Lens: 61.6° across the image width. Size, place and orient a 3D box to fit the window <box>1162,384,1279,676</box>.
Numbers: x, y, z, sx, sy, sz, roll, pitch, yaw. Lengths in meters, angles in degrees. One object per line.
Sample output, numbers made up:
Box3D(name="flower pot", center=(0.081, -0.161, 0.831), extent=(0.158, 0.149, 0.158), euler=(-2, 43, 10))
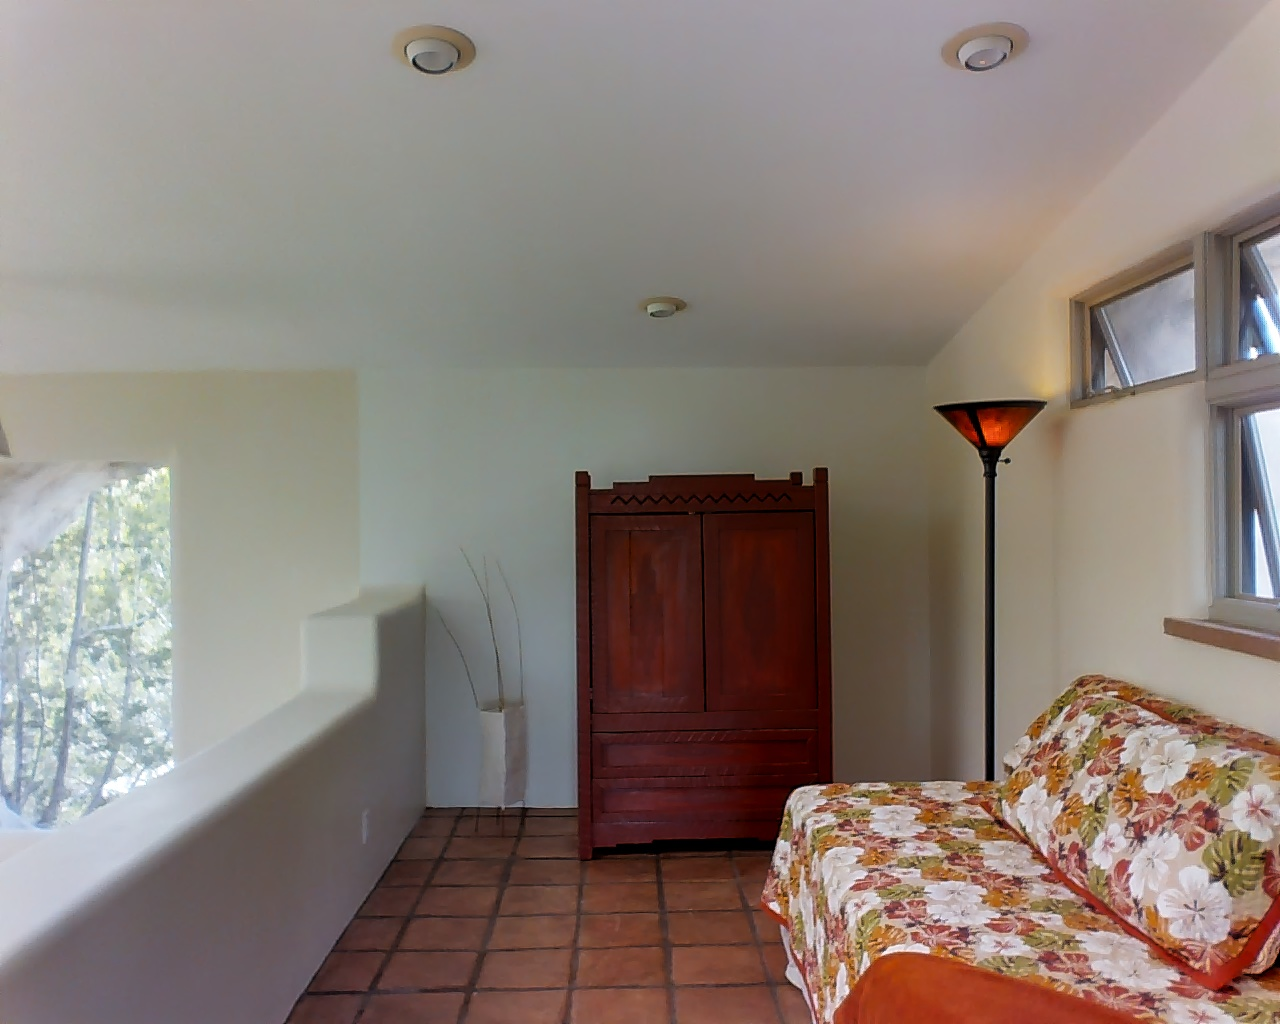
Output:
Box3D(name="window", center=(1.530, 0.040, 2.430), extent=(0.170, 0.660, 1.030), euler=(-1, 0, -1))

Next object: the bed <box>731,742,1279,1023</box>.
Box3D(name="bed", center=(0.890, 1.100, 2.440), extent=(1.140, 0.690, 2.140), euler=(-1, 0, -1))

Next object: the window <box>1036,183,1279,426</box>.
Box3D(name="window", center=(1.520, -0.530, 2.490), extent=(0.140, 0.430, 2.730), euler=(-1, 0, -1))

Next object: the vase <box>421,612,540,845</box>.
Box3D(name="vase", center=(-0.730, 0.980, 5.010), extent=(0.470, 0.970, 0.550), euler=(-1, 0, -1))
